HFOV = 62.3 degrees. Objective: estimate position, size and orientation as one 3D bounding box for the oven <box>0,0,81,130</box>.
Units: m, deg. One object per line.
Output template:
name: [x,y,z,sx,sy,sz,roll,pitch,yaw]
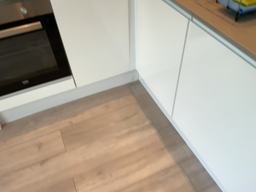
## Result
oven: [-0.780,-0.340,1.510,0.580,0.900,0.590,-19,49,-16]
